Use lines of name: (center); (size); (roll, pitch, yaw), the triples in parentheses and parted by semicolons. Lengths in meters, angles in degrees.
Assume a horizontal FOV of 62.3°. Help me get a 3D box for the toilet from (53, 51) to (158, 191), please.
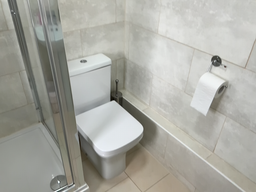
toilet: (-0.180, 0.180, 1.560); (0.410, 0.790, 0.590); (-21, 42, -30)
